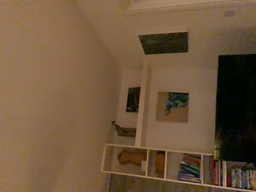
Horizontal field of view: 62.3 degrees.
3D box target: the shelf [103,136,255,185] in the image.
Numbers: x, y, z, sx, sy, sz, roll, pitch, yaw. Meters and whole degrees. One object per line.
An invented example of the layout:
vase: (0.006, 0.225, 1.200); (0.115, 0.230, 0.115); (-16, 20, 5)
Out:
shelf: (0.890, 0.770, 2.520); (0.190, 2.410, 0.390); (53, -139, -66)
